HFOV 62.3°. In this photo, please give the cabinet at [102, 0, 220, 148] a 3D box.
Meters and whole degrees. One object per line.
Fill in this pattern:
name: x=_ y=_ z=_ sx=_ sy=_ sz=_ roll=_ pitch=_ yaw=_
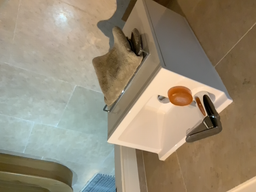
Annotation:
cabinet: x=0.080 y=-0.140 z=1.010 sx=0.260 sy=0.580 sz=0.430 roll=17 pitch=131 yaw=-22
